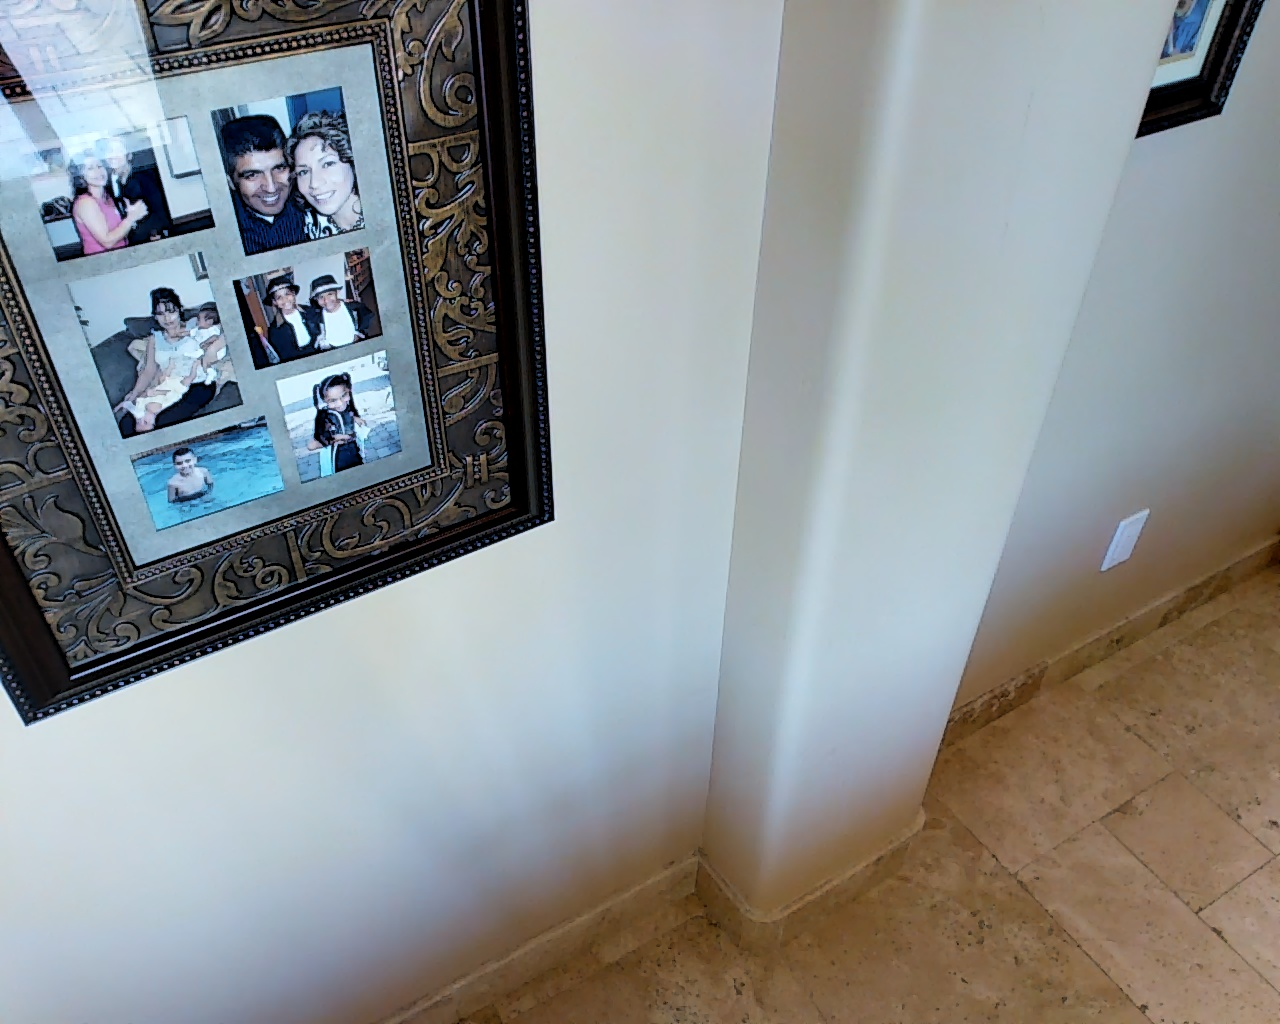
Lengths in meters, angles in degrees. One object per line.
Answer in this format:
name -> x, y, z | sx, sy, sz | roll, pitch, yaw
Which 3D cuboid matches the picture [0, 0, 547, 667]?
picture -> -0.260, -0.140, 0.770 | 0.400, 0.510, 0.020 | -21, 46, -23
